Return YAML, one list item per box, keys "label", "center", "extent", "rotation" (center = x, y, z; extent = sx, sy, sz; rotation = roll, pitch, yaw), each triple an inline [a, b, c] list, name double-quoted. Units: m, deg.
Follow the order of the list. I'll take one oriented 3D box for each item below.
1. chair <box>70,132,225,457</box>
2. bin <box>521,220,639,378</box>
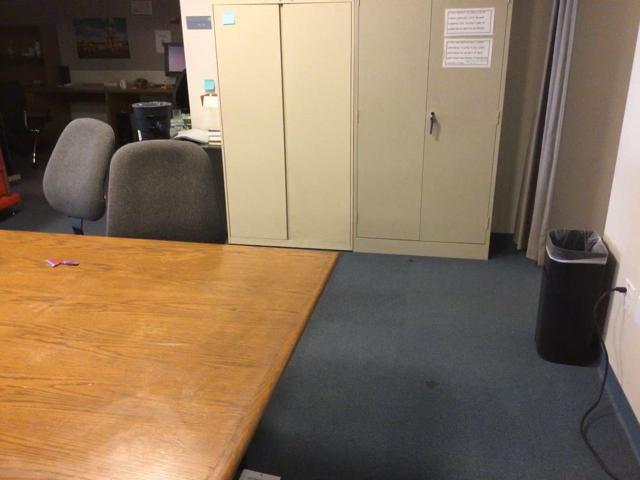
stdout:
- label: "chair"
  center: [-0.620, 0.190, 2.250]
  extent: [0.450, 1.060, 0.620]
  rotation: [0, 24, -12]
- label: "bin"
  center: [1.110, 0.250, 2.540]
  extent: [0.300, 0.560, 0.320]
  rotation: [10, 24, 10]
